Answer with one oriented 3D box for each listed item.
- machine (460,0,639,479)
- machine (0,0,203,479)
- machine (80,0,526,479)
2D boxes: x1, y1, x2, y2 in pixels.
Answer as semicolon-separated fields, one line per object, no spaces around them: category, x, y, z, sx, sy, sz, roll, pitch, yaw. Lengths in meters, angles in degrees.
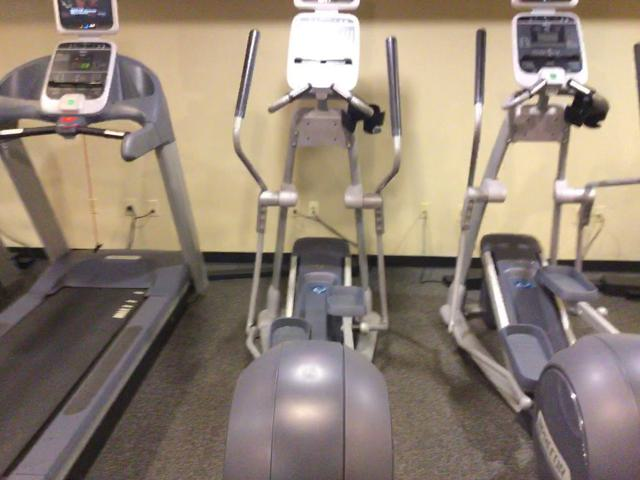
machine;0.990;-0.110;2.100;0.630;1.670;1.630;0;20;5
machine;-1.160;-0.240;2.370;0.980;1.720;2.050;-1;23;-4
machine;-0.040;-0.240;2.180;0.730;1.960;2.180;-1;22;-1
